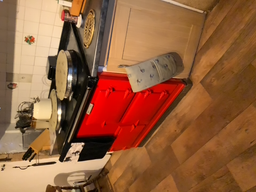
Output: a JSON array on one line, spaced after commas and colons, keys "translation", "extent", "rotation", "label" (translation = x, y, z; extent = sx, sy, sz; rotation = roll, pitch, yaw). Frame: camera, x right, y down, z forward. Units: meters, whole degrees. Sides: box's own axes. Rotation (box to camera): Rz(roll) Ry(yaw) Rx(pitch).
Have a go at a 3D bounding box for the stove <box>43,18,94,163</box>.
[{"translation": [-0.570, 0.000, 1.800], "extent": [1.020, 0.120, 0.710], "rotation": [-60, 41, 40], "label": "stove"}]
